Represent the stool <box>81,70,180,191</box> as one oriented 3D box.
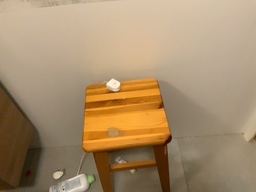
[{"bbox_3d":[0.010,0.230,0.990,0.310,0.590,0.340,-8,50,-1],"label":"stool"}]
